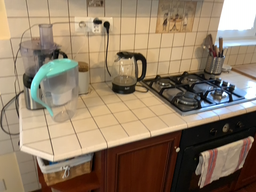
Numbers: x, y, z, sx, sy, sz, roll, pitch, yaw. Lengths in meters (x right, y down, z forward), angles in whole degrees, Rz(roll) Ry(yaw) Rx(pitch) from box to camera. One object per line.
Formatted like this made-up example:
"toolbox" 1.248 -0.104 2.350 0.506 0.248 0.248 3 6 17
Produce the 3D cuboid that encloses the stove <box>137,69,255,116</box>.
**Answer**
"stove" 0.440 -0.060 1.390 0.590 0.010 0.520 -9 29 -24
